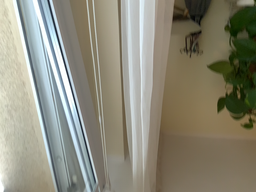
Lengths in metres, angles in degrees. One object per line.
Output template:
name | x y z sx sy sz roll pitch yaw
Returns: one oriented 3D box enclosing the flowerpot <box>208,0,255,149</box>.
flowerpot | 0.610 -0.210 0.840 0.410 0.650 0.540 3 -156 11
